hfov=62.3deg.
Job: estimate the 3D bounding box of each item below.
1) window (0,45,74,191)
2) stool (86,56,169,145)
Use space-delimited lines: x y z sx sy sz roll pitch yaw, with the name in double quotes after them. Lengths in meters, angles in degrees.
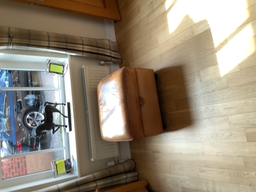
-1.370 0.230 1.940 0.230 1.570 1.440 -23 73 54 "window"
-0.040 0.080 2.060 0.640 0.450 0.710 -19 76 55 "stool"
